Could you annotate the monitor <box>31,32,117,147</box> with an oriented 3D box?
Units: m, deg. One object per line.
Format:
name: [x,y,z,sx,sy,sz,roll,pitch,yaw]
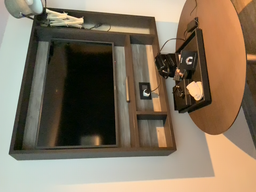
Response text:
monitor: [-0.370,-0.090,1.580,0.040,0.540,0.920,112,156,-62]

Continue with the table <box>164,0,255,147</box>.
table: [0.820,-0.290,1.520,0.820,0.730,1.100,112,157,-61]
